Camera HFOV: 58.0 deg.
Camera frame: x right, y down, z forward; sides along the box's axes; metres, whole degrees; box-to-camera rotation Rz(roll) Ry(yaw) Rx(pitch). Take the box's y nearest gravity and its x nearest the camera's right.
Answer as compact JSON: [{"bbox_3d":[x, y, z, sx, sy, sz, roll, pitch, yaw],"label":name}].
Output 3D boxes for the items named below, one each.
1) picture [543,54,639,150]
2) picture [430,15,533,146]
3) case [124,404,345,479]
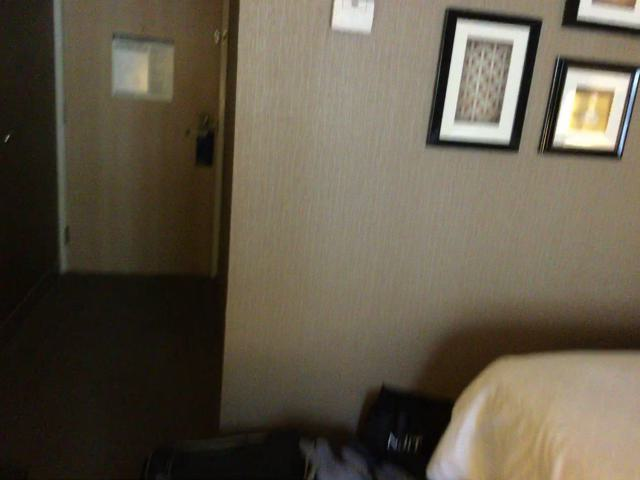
[{"bbox_3d":[0.870,-0.440,1.860,0.260,0.280,0.030,3,13,-8],"label":"picture"},{"bbox_3d":[0.500,-0.490,1.800,0.270,0.370,0.030,3,13,-8],"label":"picture"},{"bbox_3d":[-0.270,0.770,1.860,0.630,0.250,0.510,3,13,-8],"label":"case"}]
